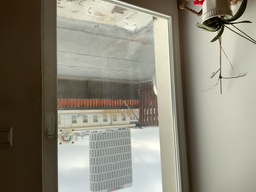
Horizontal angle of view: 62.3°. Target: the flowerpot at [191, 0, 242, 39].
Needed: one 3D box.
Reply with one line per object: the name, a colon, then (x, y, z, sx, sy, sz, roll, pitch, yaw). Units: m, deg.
flowerpot: (0.580, -0.550, 1.400, 0.180, 0.250, 0.240, 2, 174, -38)
